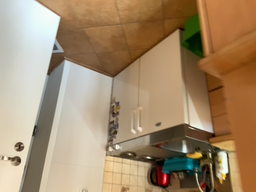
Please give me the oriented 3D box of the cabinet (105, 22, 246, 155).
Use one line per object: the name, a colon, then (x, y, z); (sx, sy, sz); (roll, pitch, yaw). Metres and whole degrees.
cabinet: (0.390, 0.050, 2.090); (0.780, 0.820, 0.980); (19, 150, -31)
